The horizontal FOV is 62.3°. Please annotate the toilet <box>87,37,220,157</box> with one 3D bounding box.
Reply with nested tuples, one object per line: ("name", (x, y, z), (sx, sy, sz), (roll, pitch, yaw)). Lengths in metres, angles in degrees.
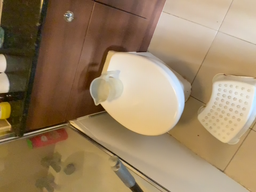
("toilet", (0.140, -0.030, 1.220), (0.500, 0.440, 0.400), (34, 115, 28))
